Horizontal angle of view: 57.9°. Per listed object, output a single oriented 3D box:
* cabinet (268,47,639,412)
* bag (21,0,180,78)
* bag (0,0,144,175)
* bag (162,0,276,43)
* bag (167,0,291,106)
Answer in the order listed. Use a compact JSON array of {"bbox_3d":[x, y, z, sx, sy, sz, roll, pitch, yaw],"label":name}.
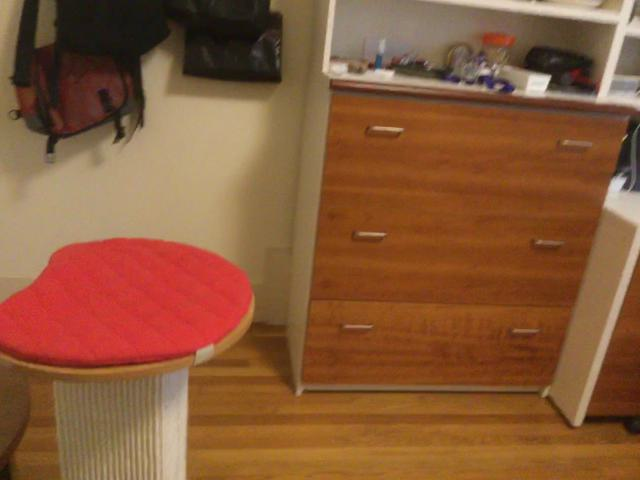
[{"bbox_3d":[0.370,-0.020,1.970,0.940,1.050,0.490,5,21,-11],"label":"cabinet"},{"bbox_3d":[-0.600,-0.760,1.640,0.380,0.500,0.290,5,21,-11],"label":"bag"},{"bbox_3d":[-0.770,-0.530,1.710,0.430,0.580,0.260,5,21,-11],"label":"bag"},{"bbox_3d":[-0.280,-0.800,1.690,0.310,0.370,0.200,5,21,-11],"label":"bag"},{"bbox_3d":[-0.290,-0.600,1.830,0.350,0.280,0.120,5,21,-11],"label":"bag"}]
